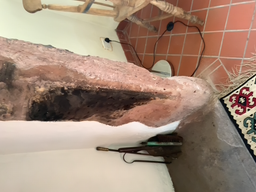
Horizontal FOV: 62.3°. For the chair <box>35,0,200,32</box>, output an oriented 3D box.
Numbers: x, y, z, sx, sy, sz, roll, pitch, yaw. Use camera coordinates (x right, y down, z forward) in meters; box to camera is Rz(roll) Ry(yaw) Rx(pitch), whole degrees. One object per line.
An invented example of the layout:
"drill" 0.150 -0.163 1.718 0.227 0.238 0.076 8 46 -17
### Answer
"chair" -0.090 -0.830 1.410 0.690 0.950 0.490 15 98 55
